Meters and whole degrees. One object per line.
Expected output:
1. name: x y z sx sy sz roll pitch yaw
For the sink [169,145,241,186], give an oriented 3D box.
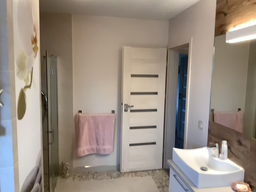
1. sink: 0.690 0.630 2.010 0.420 0.140 0.540 0 7 -10
